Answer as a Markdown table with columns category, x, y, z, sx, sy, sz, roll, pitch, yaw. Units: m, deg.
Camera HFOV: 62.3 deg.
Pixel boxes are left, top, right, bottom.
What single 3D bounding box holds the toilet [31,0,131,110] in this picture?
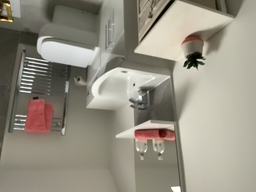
| category | x | y | z | sx | sy | sz | roll | pitch | yaw |
| --- | --- | --- | --- | --- | --- | --- | --- | --- | --- |
| toilet | -0.440 | -0.360 | 2.020 | 0.790 | 0.840 | 0.470 | 7 | 160 | -22 |
